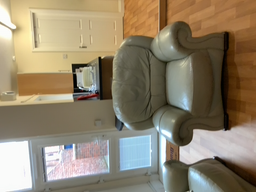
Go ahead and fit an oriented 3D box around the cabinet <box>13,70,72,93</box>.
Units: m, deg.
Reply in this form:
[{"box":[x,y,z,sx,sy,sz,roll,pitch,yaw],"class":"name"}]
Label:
[{"box":[-1.690,-0.320,4.340,0.600,1.020,0.400,-157,64,-72],"class":"cabinet"}]
